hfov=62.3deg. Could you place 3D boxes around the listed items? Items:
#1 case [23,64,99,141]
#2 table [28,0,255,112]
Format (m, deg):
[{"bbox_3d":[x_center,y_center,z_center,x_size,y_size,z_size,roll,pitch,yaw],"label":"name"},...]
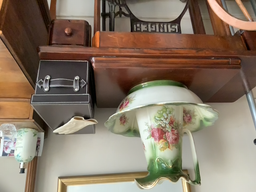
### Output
[{"bbox_3d":[-0.210,0.050,0.790,0.190,0.140,0.400,0,156,-6],"label":"case"},{"bbox_3d":[0.120,-0.360,1.010,0.900,0.760,0.450,0,155,-7],"label":"table"}]
